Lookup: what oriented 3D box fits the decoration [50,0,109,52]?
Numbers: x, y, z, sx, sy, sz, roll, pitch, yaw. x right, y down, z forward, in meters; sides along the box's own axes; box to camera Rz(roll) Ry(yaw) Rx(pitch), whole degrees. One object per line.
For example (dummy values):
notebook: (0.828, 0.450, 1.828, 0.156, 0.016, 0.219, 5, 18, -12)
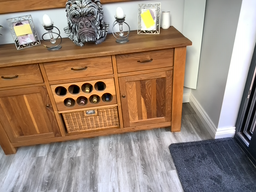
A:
decoration: (-0.350, -0.580, 1.660, 0.360, 0.360, 0.270, -5, 32, -1)
